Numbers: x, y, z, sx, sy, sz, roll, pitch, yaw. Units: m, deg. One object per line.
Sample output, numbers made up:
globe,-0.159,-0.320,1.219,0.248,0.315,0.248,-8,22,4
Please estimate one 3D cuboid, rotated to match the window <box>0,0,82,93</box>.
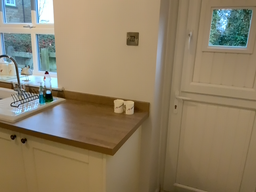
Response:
window,-1.050,-0.640,2.340,1.200,1.080,0.080,9,18,22
